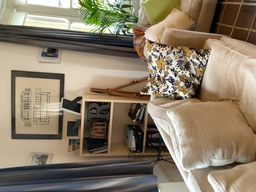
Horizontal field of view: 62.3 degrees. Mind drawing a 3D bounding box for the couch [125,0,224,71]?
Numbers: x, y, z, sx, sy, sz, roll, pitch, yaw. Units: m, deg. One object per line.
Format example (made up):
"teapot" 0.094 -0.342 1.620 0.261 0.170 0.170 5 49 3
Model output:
"couch" 0.580 -1.510 2.400 0.960 0.770 2.190 -113 29 -62
